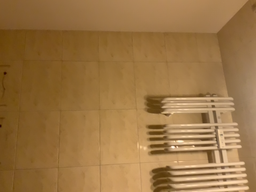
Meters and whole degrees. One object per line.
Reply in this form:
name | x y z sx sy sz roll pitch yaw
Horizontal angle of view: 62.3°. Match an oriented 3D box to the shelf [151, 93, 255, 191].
shelf | 0.490 0.530 1.330 0.590 1.080 0.160 -1 -15 -7
